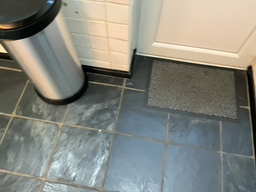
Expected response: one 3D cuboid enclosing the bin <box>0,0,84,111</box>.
[{"bbox_3d":[-0.440,-0.210,1.050,0.270,0.680,0.280,9,63,3],"label":"bin"}]
